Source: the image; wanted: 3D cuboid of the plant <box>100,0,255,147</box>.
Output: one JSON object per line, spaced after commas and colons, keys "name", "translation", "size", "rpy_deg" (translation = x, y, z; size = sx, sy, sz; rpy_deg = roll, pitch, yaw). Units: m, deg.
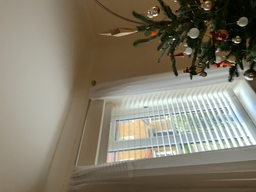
{"name": "plant", "translation": [0.840, -0.500, 1.220], "size": [0.920, 1.800, 1.100], "rpy_deg": [-92, -7, -46]}
